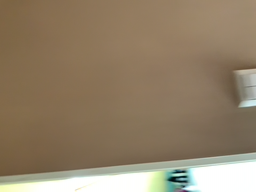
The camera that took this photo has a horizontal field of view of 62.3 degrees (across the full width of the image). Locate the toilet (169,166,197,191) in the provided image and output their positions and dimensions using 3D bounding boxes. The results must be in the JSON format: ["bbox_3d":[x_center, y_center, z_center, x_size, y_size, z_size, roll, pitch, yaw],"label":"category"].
[{"bbox_3d":[0.830,1.310,3.220,0.380,0.290,0.380,108,157,-83],"label":"toilet"}]
